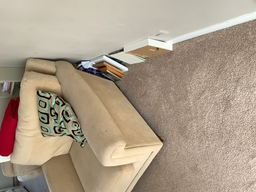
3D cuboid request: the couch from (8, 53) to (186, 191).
[{"bbox_3d":[-0.390,0.430,1.800,0.970,0.840,1.160,51,129,33],"label":"couch"}]
